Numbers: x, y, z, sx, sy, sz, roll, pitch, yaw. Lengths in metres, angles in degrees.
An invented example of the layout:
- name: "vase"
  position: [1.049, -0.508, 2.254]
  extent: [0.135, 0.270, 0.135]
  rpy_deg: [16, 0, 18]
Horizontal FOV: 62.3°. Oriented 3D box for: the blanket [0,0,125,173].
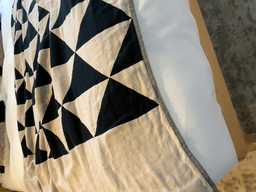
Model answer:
- name: "blanket"
  position: [-0.400, -0.490, 0.810]
  extent: [0.810, 0.070, 1.480]
  rpy_deg: [-26, 70, 49]
